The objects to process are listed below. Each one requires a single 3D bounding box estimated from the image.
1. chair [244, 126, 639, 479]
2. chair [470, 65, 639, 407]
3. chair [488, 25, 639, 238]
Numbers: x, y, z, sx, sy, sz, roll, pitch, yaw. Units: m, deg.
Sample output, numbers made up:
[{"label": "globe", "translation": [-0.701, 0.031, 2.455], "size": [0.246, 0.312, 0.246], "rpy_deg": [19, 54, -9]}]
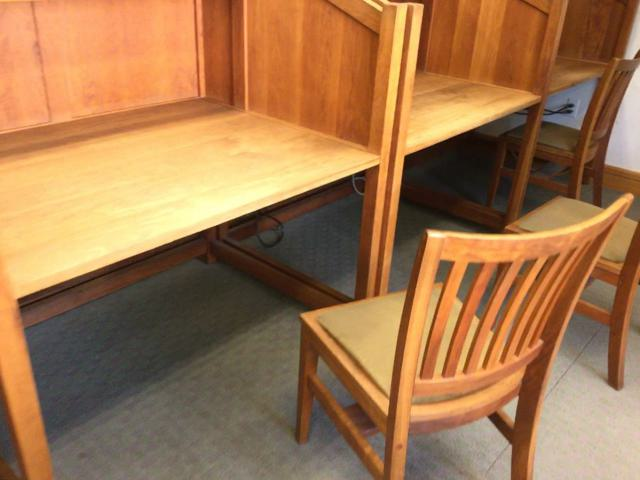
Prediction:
[{"label": "chair", "translation": [0.240, 0.270, 1.410], "size": [0.670, 0.900, 0.660], "rpy_deg": [-9, 28, -22]}, {"label": "chair", "translation": [1.000, -0.060, 2.030], "size": [0.580, 0.950, 0.560], "rpy_deg": [24, 33, 37]}, {"label": "chair", "translation": [1.350, -0.600, 3.050], "size": [0.540, 0.940, 0.560], "rpy_deg": [24, 33, 37]}]
